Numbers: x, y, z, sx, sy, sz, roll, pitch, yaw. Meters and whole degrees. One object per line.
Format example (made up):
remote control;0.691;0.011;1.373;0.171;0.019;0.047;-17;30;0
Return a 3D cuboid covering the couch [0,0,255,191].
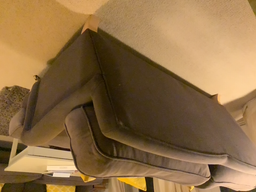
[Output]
couch;0.130;0.250;1.560;1.660;0.840;1.110;19;144;-35
